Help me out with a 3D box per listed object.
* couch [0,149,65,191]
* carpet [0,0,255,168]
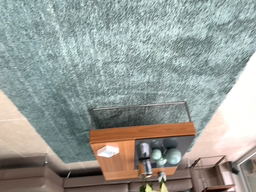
[{"bbox_3d":[-1.410,1.030,2.660,1.030,0.410,0.710,-4,147,-2],"label":"couch"},{"bbox_3d":[-0.060,0.140,1.890,1.820,0.180,2.570,-4,147,-2],"label":"carpet"}]
